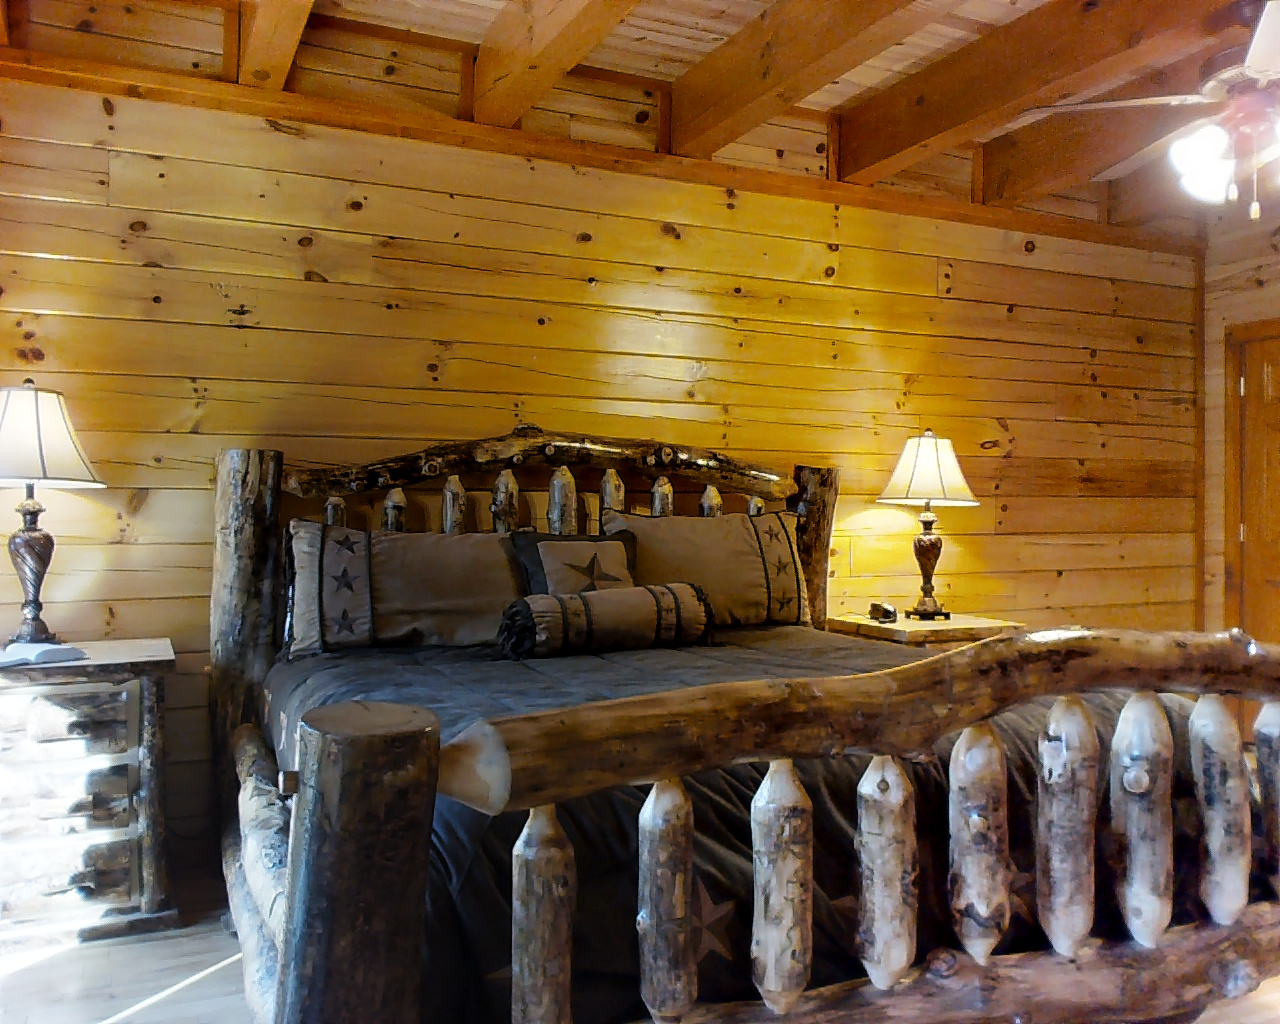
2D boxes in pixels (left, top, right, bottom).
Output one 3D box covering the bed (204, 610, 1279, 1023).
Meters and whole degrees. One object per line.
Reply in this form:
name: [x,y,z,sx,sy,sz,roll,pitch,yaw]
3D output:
bed: [0.140,0.790,2.960,2.409,0.760,2.490,1,0,-24]
